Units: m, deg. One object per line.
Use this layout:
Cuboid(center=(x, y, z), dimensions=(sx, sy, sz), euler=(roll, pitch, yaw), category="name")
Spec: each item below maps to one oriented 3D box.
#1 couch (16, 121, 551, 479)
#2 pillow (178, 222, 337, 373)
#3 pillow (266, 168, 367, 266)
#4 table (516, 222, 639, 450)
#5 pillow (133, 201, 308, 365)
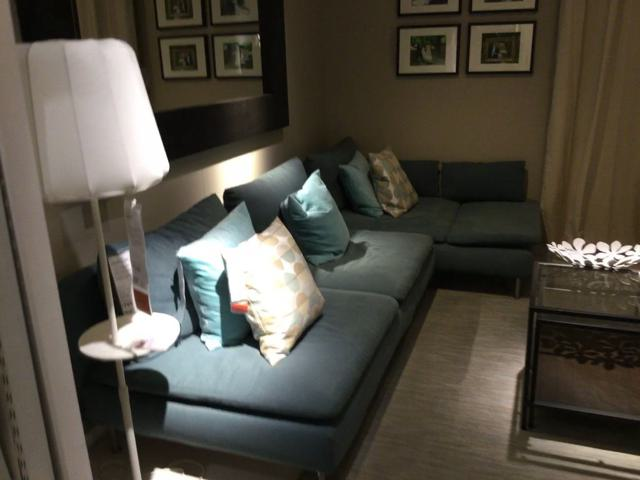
Cuboid(center=(0.300, 0.020, 2.860), dimensions=(1.480, 0.780, 2.800), euler=(0, 17, 24), category="couch")
Cuboid(center=(-0.200, 0.180, 2.090), dimensions=(0.320, 0.370, 0.490), euler=(0, 17, 25), category="pillow")
Cuboid(center=(0.000, -0.130, 2.970), dimensions=(0.310, 0.390, 0.460), euler=(0, 17, 25), category="pillow")
Cuboid(center=(1.120, 0.310, 2.330), dimensions=(0.510, 0.540, 0.940), euler=(0, 17, 25), category="table")
Cuboid(center=(-0.340, 0.130, 2.160), dimensions=(0.340, 0.430, 0.540), euler=(0, 17, 25), category="pillow")
